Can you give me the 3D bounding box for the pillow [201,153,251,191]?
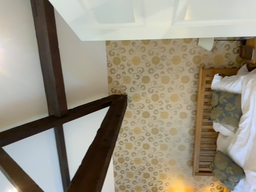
[{"bbox_3d":[1.200,0.960,2.620,0.180,0.380,0.450,55,144,33],"label":"pillow"}]
